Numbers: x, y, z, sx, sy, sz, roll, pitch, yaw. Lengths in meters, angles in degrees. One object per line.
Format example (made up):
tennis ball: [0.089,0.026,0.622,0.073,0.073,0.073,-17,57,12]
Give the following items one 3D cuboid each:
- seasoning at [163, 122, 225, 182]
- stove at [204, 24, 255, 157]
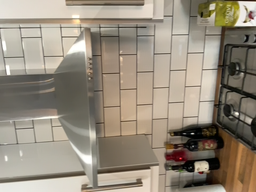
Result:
seasoning: [0.400,0.340,1.330,0.180,0.300,0.290,-121,30,-72]
stove: [0.560,-0.050,1.070,0.580,0.020,0.580,-124,33,-74]
